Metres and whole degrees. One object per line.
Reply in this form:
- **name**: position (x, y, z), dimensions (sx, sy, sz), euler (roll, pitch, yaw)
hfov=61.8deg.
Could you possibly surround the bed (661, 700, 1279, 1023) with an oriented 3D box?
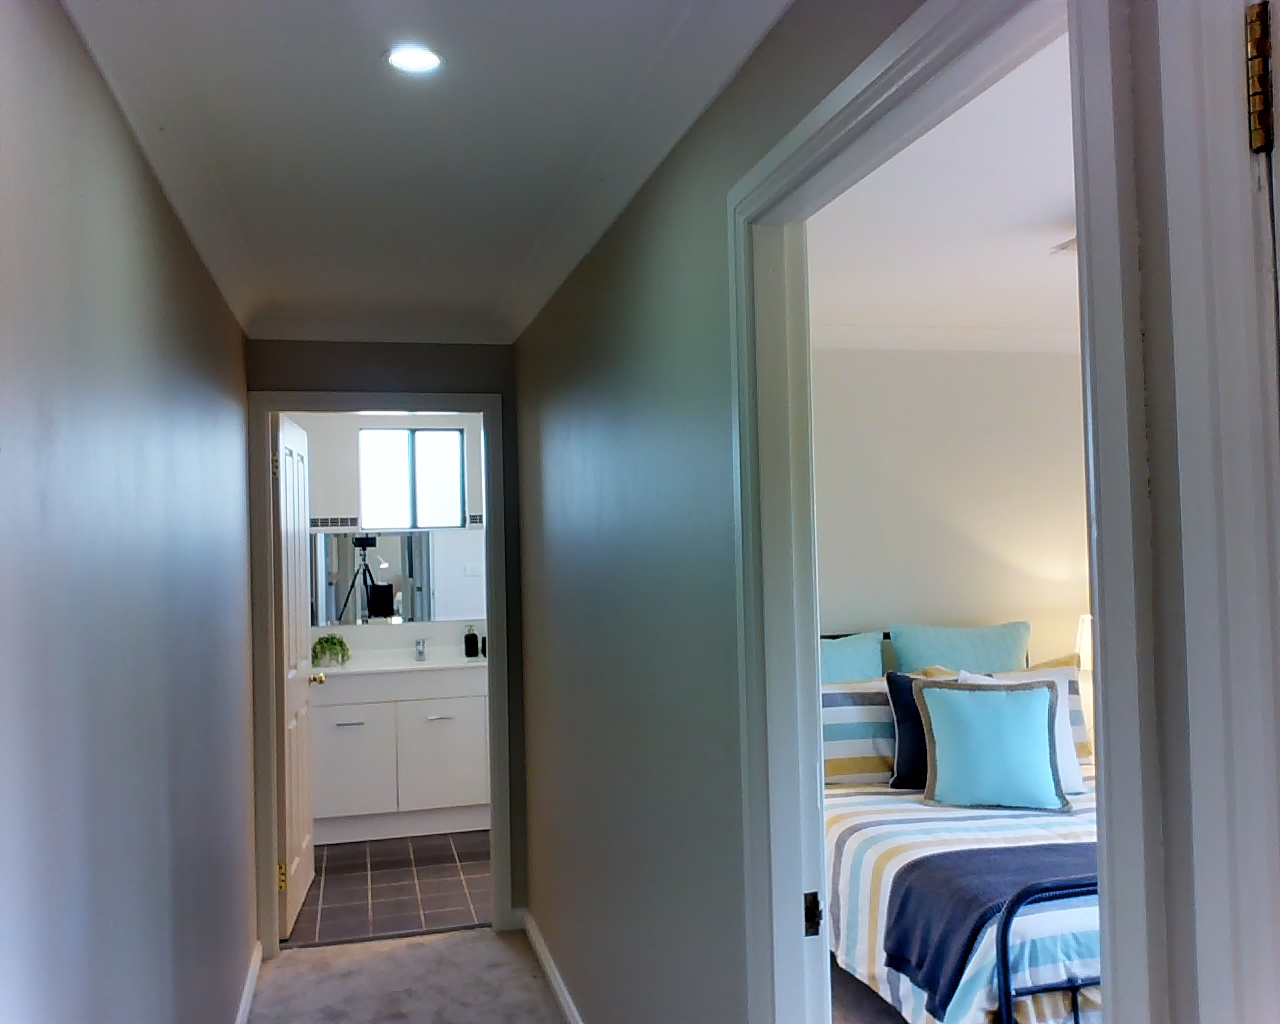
- **bed**: position (1.260, 1.190, 3.550), dimensions (1.800, 0.700, 2.180), euler (-1, -1, -16)

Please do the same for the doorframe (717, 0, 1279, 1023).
- **doorframe**: position (0.360, 0.480, 1.360), dimensions (0.150, 2.111, 0.980), euler (-1, -1, -15)
